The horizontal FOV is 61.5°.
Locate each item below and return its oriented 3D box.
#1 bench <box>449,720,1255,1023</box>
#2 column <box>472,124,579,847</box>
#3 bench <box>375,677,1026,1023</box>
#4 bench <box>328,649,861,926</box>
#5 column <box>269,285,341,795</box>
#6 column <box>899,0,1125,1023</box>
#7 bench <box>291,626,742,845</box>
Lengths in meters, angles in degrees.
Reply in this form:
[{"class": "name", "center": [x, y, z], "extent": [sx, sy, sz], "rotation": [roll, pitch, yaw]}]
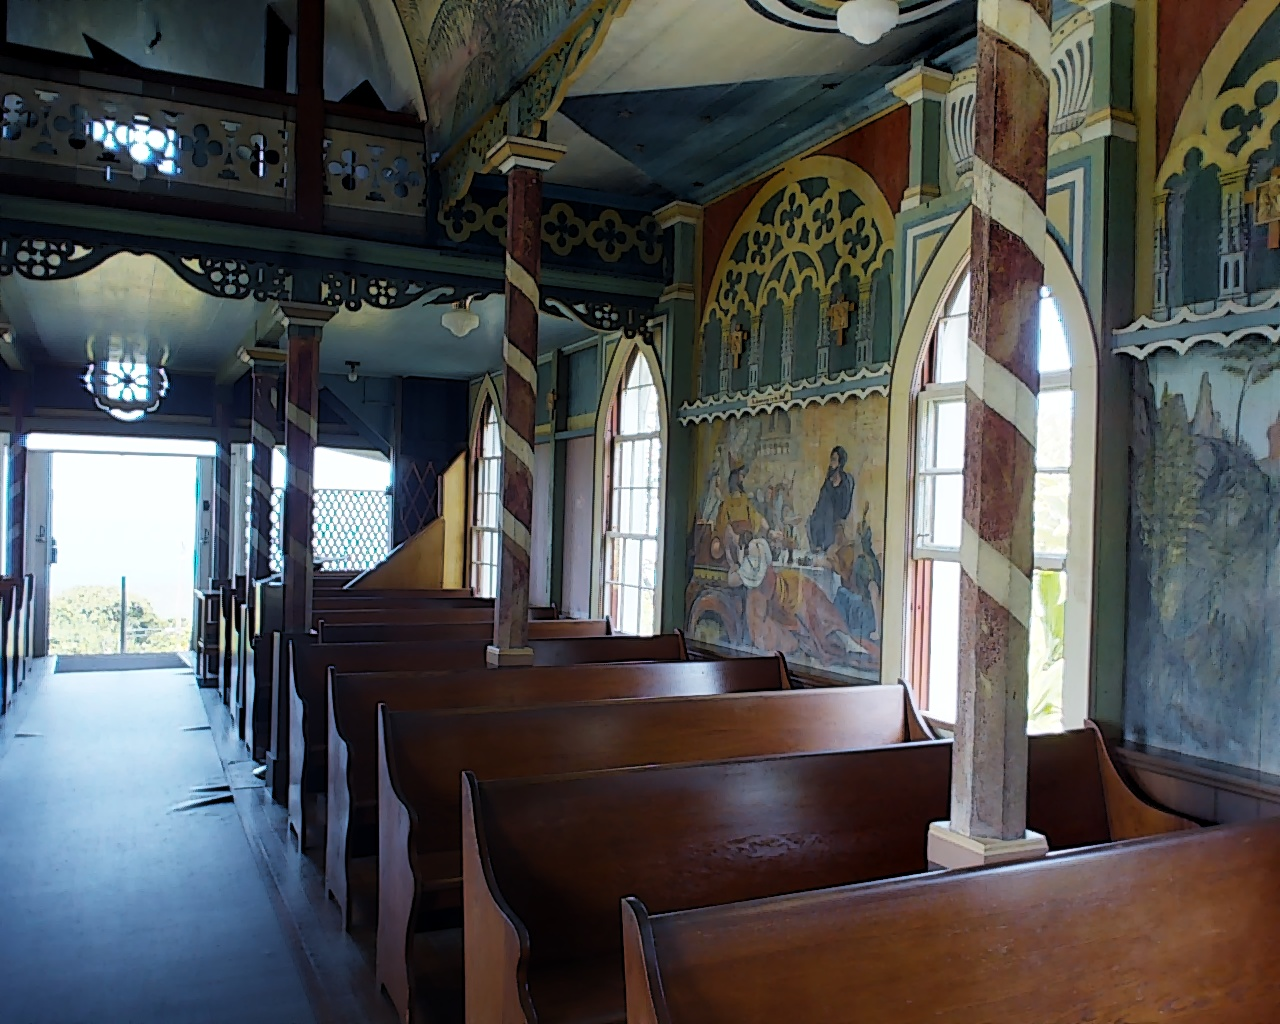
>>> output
[{"class": "bench", "center": [0.650, 1.110, 2.900], "extent": [2.209, 0.860, 0.580], "rotation": [1, -1, -25]}, {"class": "column", "center": [-0.540, -0.120, 5.060], "extent": [0.380, 3.271, 0.250], "rotation": [1, -1, -25]}, {"class": "bench", "center": [0.270, 1.090, 3.720], "extent": [2.209, 0.860, 0.610], "rotation": [1, -1, -25]}, {"class": "bench", "center": [-0.140, 1.080, 4.590], "extent": [2.209, 0.850, 0.570], "rotation": [1, -1, -25]}, {"class": "column", "center": [-1.839, 0.150, 5.900], "extent": [0.280, 2.711, 0.260], "rotation": [1, -1, -28]}, {"class": "column", "center": [0.780, -0.160, 2.270], "extent": [0.290, 3.421, 0.310], "rotation": [1, -1, -25]}, {"class": "bench", "center": [-0.590, 1.070, 5.520], "extent": [2.209, 0.860, 0.590], "rotation": [1, -1, -25]}]
